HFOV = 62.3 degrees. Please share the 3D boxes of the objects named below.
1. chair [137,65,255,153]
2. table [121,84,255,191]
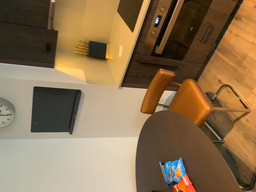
[{"bbox_3d":[0.540,0.130,1.830,0.480,0.680,0.510,-109,34,-41],"label":"chair"},{"bbox_3d":[0.610,0.740,1.520,1.240,0.730,1.080,-115,38,-47],"label":"table"}]
